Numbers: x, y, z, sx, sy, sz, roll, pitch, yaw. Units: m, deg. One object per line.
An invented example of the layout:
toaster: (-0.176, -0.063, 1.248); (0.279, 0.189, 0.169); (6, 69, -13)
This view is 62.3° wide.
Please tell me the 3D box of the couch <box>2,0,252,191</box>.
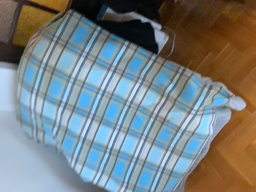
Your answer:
couch: (-0.060, 0.100, 1.360); (0.900, 1.010, 0.890); (45, 118, 38)
